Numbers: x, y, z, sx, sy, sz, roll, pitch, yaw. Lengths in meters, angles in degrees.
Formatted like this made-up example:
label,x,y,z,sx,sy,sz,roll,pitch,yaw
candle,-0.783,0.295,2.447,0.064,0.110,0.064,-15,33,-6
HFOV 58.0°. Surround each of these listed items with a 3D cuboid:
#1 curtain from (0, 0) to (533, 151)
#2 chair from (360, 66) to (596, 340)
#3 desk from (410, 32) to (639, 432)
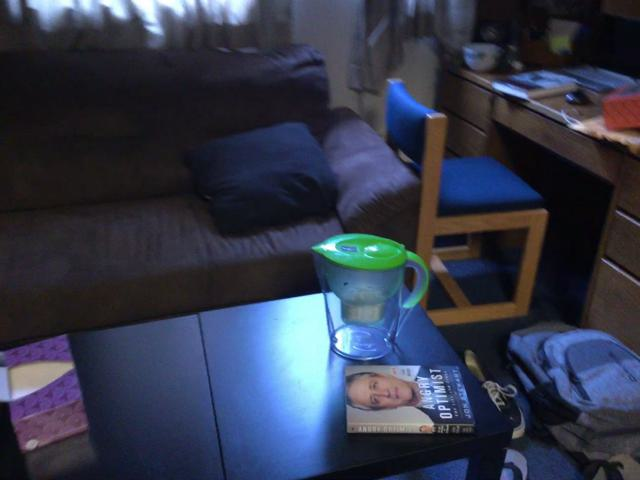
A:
label,x,y,z,sx,sy,sz,roll,pitch,yaw
curtain,-0.330,-1.080,2.150,2.390,1.240,0.360,-9,26,-14
chair,0.520,-0.170,2.150,0.590,0.810,0.540,-9,26,-14
desk,1.130,-0.220,2.180,0.940,0.880,1.630,-9,26,-14
